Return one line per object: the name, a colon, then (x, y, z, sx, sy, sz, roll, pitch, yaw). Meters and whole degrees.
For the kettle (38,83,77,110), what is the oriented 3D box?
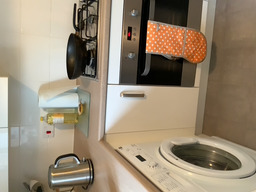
kettle: (-0.530, 0.000, 1.590, 0.150, 0.260, 0.180, 15, 103, 62)

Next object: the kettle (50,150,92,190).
kettle: (-0.350, 0.440, 1.280, 0.160, 0.210, 0.120, 44, 128, 54)
